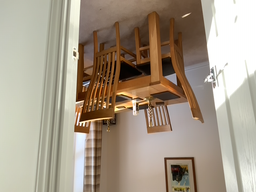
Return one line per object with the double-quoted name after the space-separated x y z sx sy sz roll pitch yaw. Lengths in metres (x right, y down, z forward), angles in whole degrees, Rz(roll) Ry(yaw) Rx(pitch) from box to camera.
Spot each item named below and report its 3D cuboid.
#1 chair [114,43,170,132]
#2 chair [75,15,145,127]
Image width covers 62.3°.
0.190 -0.070 2.930 0.440 1.040 0.640 -14 160 38 "chair"
-0.180 -0.220 2.350 0.440 1.030 0.610 -12 161 33 "chair"
